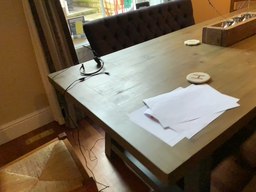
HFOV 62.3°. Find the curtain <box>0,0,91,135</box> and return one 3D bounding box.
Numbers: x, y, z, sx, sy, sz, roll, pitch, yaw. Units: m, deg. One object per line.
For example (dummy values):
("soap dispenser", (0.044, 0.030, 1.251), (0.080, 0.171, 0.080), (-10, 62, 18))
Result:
("curtain", (-0.820, -0.780, 1.690), (0.490, 2.380, 0.260), (-25, 34, -27))

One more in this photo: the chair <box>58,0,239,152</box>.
("chair", (0.280, -0.350, 2.040), (1.480, 0.920, 0.660), (-26, 35, -28))
